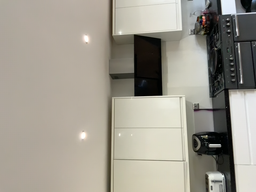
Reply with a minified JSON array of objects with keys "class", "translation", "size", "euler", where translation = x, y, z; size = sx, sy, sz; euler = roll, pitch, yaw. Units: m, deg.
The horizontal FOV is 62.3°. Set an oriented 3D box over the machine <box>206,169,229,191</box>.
[{"class":"machine","translation":[1.040,1.030,2.470],"size":[0.160,0.210,0.320],"euler":[50,-141,-77]}]
